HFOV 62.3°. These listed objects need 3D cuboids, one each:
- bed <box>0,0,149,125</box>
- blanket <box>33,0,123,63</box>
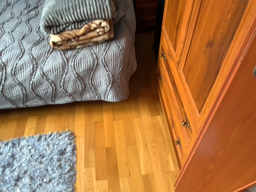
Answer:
[{"bbox_3d":[-1.080,-0.490,1.770,2.260,0.520,1.410,-5,50,-4],"label":"bed"},{"bbox_3d":[-0.320,-0.560,1.420,0.460,0.300,0.600,-9,50,-7],"label":"blanket"}]
